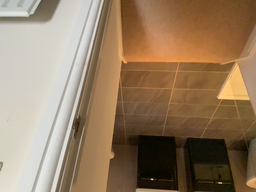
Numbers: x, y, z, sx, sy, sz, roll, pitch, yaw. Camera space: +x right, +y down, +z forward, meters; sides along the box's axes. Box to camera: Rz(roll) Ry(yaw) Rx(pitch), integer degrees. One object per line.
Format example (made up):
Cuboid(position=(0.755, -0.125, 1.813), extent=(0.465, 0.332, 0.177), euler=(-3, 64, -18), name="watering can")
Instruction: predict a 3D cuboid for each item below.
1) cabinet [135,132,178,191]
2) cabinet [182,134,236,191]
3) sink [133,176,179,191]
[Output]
Cuboid(position=(0.420, 1.040, 3.290), extent=(0.580, 0.820, 0.440), euler=(2, 144, 4), name="cabinet")
Cuboid(position=(1.190, 1.060, 3.260), extent=(0.580, 0.800, 0.440), euler=(2, 144, 4), name="cabinet")
Cuboid(position=(0.390, 1.340, 3.070), extent=(0.610, 0.190, 0.450), euler=(2, 144, 4), name="sink")
